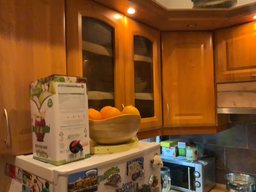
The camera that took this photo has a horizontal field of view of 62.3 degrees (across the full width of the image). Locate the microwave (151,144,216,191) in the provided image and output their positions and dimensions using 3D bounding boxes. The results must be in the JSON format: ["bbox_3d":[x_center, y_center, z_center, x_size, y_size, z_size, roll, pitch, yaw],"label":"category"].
[{"bbox_3d":[0.490,0.630,1.890,0.460,0.290,0.310,-2,-2,39],"label":"microwave"}]

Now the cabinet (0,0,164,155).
[{"bbox_3d":[-0.260,-0.180,1.200,0.310,0.780,1.200,-2,-2,41],"label":"cabinet"}]
